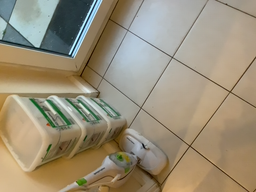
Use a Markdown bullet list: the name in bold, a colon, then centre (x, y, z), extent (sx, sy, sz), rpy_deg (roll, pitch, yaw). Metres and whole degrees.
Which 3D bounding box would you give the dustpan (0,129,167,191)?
- **dustpan**: centre (-0.130, 0.310, 0.780), extent (0.180, 1.020, 0.150), rpy_deg (43, 110, 21)
